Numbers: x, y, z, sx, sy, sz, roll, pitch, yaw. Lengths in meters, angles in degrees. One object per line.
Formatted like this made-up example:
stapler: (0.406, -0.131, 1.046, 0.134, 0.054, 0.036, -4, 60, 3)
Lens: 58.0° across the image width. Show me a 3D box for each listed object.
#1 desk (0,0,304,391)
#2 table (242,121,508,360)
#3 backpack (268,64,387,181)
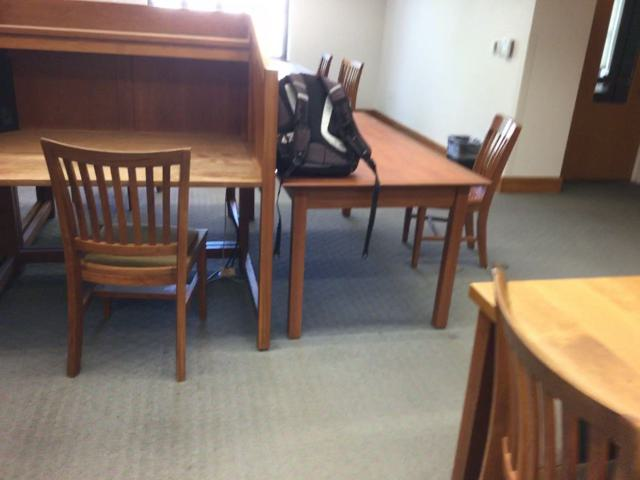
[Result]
desk: (-0.850, -0.330, 2.530, 1.330, 1.450, 1.110, -3, 21, -13)
table: (0.150, -0.110, 2.970, 0.960, 0.800, 1.250, -3, 21, -13)
backpack: (0.010, -0.500, 2.400, 0.400, 0.410, 0.400, -3, 21, -13)
